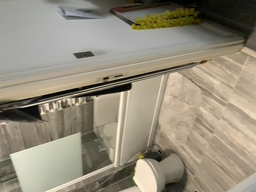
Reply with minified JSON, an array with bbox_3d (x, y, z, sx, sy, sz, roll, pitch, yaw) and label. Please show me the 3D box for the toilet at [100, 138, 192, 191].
[{"bbox_3d":[0.160,0.980,2.320,0.450,0.820,0.670,45,140,43],"label":"toilet"}]
